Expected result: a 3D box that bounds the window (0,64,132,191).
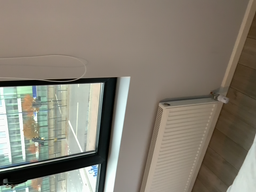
[{"bbox_3d":[-0.770,0.530,1.380,0.080,1.430,1.550,52,138,50],"label":"window"}]
